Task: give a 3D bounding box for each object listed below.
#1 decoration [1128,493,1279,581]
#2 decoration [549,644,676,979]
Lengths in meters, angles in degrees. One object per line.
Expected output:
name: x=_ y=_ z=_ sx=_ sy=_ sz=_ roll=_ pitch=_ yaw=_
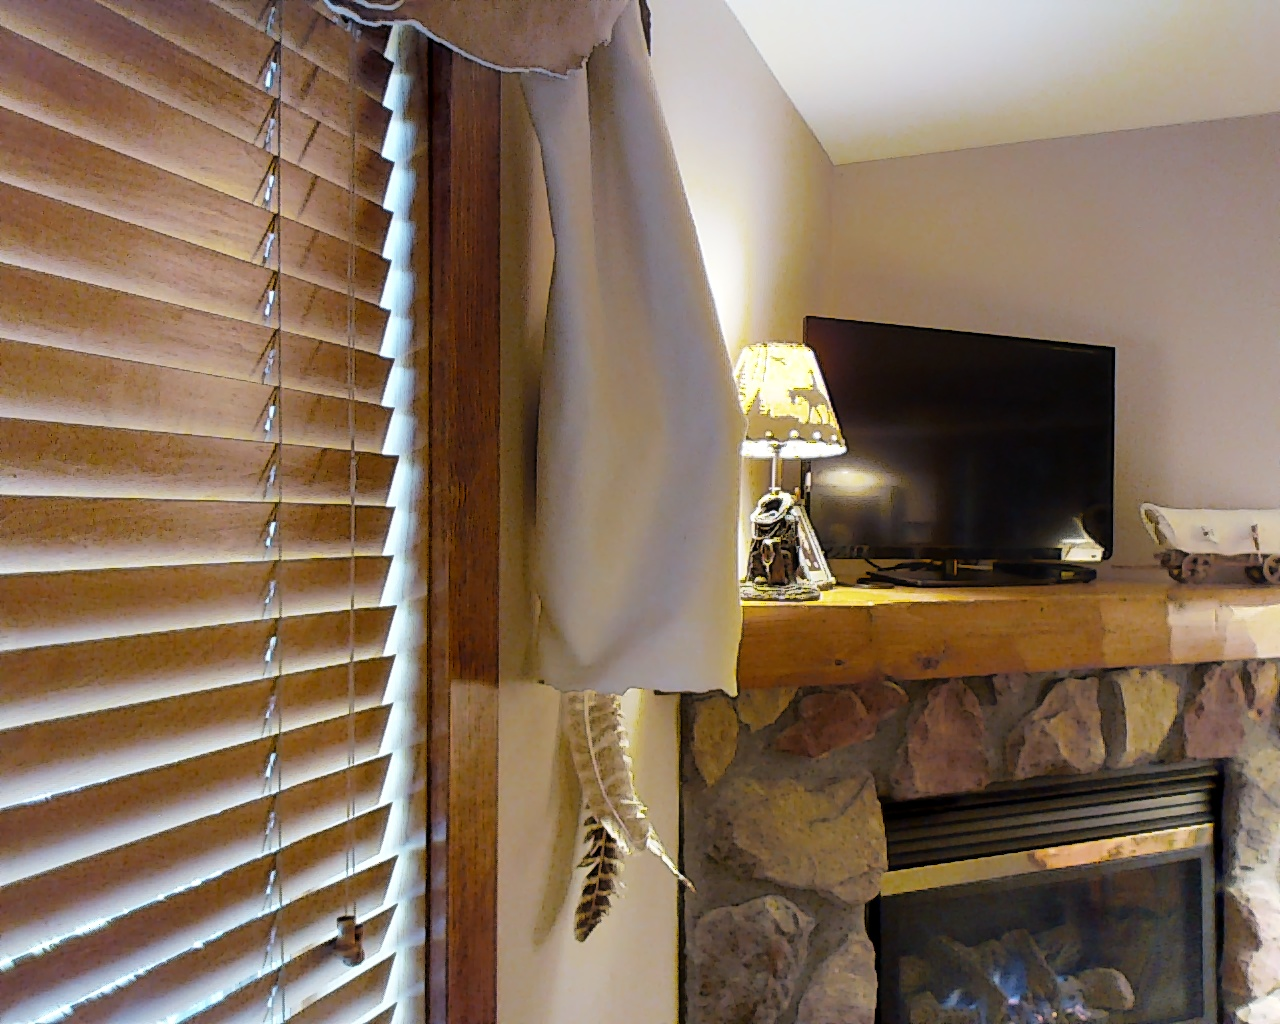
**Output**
decoration: x=1.220 y=0.050 z=2.180 sx=0.410 sy=0.170 sz=0.190 roll=-1 pitch=-1 yaw=21
decoration: x=-0.030 y=0.340 z=1.270 sx=0.100 sy=0.350 sz=0.140 roll=-1 pitch=-1 yaw=21
